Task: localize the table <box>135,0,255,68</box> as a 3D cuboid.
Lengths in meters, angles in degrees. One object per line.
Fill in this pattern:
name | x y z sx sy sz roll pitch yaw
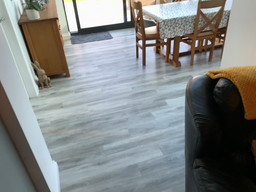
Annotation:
table | 1.170 -1.190 3.630 1.840 0.760 0.970 -12 34 -12
